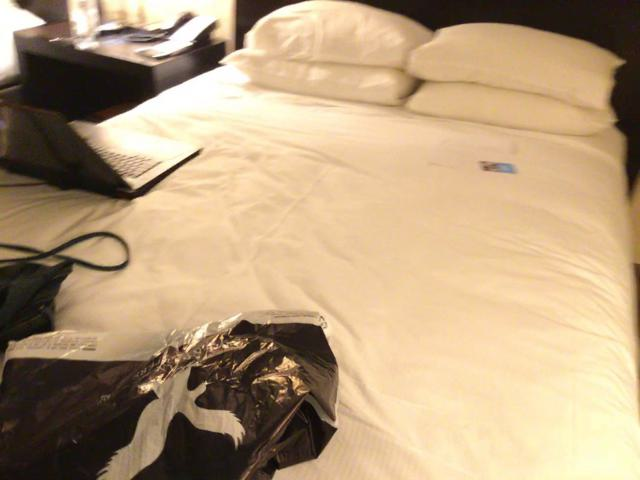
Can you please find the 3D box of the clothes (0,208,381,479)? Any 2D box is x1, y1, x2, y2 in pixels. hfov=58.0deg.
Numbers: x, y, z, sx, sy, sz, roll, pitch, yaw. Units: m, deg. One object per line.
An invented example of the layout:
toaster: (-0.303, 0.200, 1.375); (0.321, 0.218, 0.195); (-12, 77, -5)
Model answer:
clothes: (-0.230, 0.200, 0.710); (0.430, 0.180, 0.530); (19, 32, 18)

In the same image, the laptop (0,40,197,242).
laptop: (-0.590, -0.260, 1.340); (0.420, 0.260, 0.430); (19, 32, 19)

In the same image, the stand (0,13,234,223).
stand: (-0.880, -0.580, 2.580); (0.770, 0.640, 0.570); (19, 32, 18)
